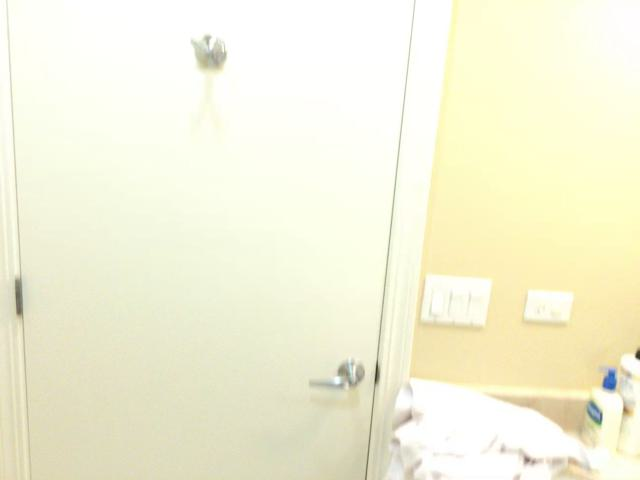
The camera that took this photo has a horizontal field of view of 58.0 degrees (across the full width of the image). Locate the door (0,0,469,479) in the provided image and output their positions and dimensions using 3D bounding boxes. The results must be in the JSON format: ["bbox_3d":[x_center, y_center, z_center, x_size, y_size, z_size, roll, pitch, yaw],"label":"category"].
[{"bbox_3d":[-0.270,0.200,1.350,1.000,2.010,0.070,5,13,-2],"label":"door"}]

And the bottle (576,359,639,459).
[{"bbox_3d":[0.690,0.400,1.380,0.070,0.190,0.120,5,13,-2],"label":"bottle"}]
